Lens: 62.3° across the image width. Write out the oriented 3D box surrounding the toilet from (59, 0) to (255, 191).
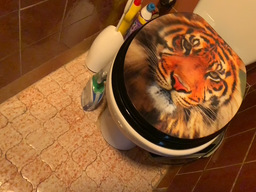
[{"bbox_3d":[0.210,-0.100,0.690,0.360,0.800,0.660,46,55,2],"label":"toilet"}]
